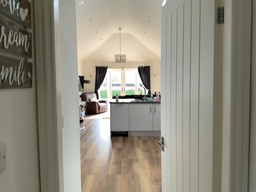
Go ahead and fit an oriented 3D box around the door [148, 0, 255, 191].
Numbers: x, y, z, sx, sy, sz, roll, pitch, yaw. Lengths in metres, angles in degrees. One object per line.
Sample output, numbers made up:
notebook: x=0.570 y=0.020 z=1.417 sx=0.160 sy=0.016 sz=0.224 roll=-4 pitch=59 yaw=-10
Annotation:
door: x=0.380 y=0.260 z=1.380 sx=0.130 sy=1.980 sz=0.960 roll=-2 pitch=4 yaw=-16
